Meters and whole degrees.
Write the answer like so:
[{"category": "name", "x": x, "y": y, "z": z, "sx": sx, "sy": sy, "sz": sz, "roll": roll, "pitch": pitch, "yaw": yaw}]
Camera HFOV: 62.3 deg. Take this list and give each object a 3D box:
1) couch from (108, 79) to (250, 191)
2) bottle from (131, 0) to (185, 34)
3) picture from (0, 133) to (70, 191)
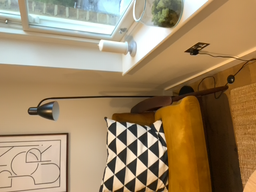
[{"category": "couch", "x": 0.350, "y": 0.870, "z": 1.730, "sx": 0.910, "sy": 0.730, "sz": 1.790, "roll": 149, "pitch": 120, "yaw": -65}, {"category": "bottle", "x": 0.140, "y": -0.430, "z": 1.050, "sx": 0.160, "sy": 0.200, "sz": 0.160, "roll": 149, "pitch": 120, "yaw": -65}, {"category": "picture", "x": -0.860, "y": 0.570, "z": 1.790, "sx": 0.030, "sy": 0.710, "sz": 0.490, "roll": 154, "pitch": 116, "yaw": -66}]
